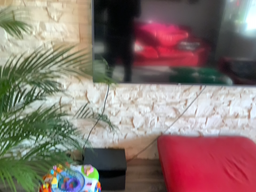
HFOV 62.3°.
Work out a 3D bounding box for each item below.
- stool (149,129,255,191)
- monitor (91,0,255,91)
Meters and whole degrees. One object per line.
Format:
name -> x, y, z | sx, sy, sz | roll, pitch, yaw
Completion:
stool -> 0.680, 0.650, 1.680 | 0.880, 0.430, 0.670 | 2, 29, -6
monitor -> 0.410, -0.390, 1.390 | 1.270, 0.720, 0.040 | 3, 29, -7
